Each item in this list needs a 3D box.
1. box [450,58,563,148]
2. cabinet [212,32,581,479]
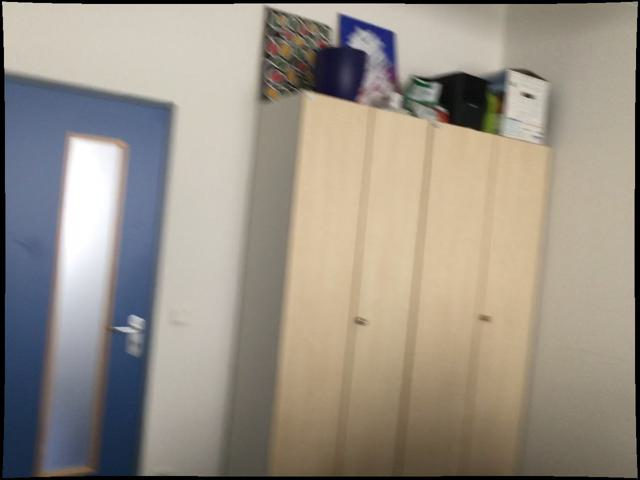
[{"bbox_3d":[1.079,-0.771,3.350,0.490,0.400,0.360,2,5,-33],"label":"box"},{"bbox_3d":[0.470,0.320,3.180,1.889,2.342,0.610,2,5,-33],"label":"cabinet"}]
